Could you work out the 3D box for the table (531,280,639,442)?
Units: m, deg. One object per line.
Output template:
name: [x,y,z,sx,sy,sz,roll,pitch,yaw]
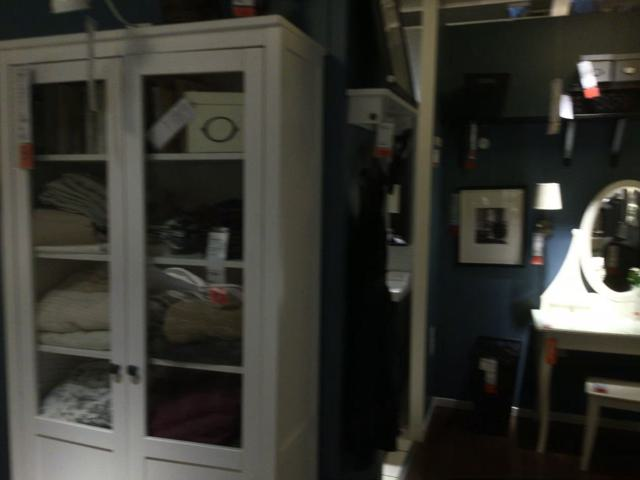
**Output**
table: [1.750,0.660,3.300,1.010,0.770,0.550,-1,5,20]
